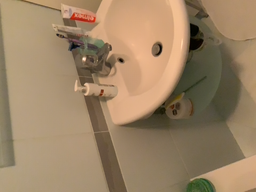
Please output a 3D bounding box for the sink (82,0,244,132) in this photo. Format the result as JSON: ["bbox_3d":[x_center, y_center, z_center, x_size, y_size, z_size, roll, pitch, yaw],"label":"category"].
[{"bbox_3d":[0.060,-0.210,0.830,0.460,0.180,0.540,-44,57,41],"label":"sink"}]
